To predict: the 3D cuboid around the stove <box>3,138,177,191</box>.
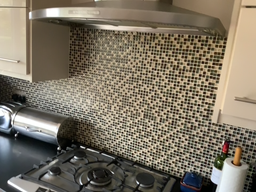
[{"bbox_3d":[-0.160,0.420,1.090,0.700,0.040,0.530,13,15,24],"label":"stove"}]
